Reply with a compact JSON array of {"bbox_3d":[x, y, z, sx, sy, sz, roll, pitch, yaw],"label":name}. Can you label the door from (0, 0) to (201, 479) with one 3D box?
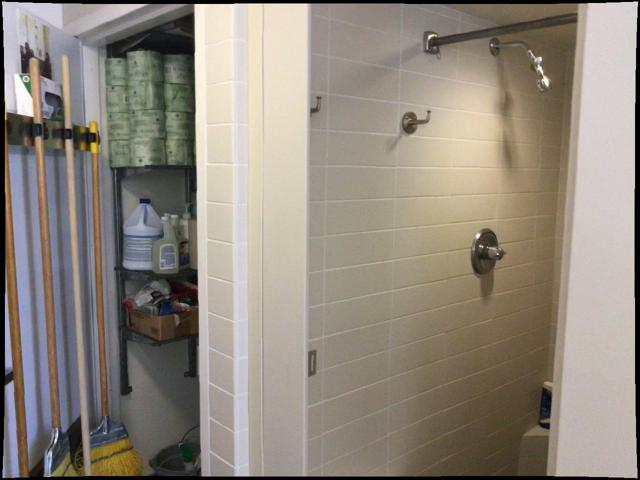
[{"bbox_3d":[-0.899,0.290,1.840,0.710,1.982,0.750,-7,11,-40],"label":"door"}]
